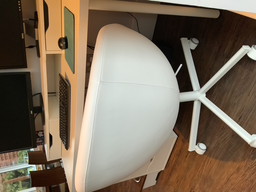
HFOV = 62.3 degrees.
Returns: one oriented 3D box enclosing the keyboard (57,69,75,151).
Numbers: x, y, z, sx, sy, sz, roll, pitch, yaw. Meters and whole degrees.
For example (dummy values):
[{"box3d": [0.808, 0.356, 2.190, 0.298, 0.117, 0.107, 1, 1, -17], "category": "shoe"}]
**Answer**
[{"box3d": [-0.350, 0.090, 1.180, 0.130, 0.060, 0.460, 52, 140, 46], "category": "keyboard"}]
